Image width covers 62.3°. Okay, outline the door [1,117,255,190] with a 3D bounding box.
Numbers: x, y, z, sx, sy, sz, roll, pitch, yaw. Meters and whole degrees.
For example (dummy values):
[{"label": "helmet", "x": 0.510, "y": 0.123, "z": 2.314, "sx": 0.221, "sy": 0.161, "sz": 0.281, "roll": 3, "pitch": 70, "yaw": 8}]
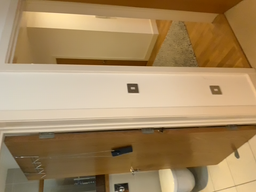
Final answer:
[{"label": "door", "x": 0.140, "y": 0.570, "z": 2.070, "sx": 0.950, "sy": 2.220, "sz": 0.150, "roll": 105, "pitch": 160, "yaw": -49}]
